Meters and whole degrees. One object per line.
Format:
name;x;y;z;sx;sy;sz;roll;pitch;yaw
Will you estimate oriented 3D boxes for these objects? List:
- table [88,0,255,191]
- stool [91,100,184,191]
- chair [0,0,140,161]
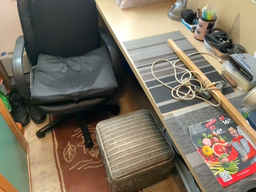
table;0.200;-0.040;1.360;0.510;0.760;1.540;-14;51;-14
stool;0.030;0.330;1.280;0.390;0.380;0.370;-14;51;-14
chair;-0.370;-0.170;1.410;0.630;0.800;0.760;-11;50;-12
